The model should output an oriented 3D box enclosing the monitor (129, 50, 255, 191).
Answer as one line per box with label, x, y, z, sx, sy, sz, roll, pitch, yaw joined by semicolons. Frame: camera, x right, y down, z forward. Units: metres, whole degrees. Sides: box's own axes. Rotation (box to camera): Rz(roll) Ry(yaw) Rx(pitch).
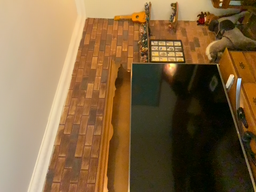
monitor;0.480;0.230;1.830;0.090;0.920;1.720;92;178;-54
